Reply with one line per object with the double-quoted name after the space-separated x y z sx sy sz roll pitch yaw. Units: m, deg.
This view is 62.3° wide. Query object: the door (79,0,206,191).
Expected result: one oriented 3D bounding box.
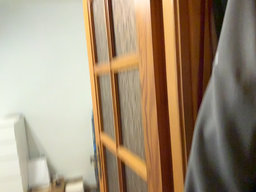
0.000 0.410 0.960 0.120 1.830 0.900 -7 6 -20 "door"
